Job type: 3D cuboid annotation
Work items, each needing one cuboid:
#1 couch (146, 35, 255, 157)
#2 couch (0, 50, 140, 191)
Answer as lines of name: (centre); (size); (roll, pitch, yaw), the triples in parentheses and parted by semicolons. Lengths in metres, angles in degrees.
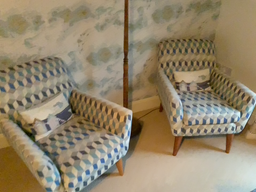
couch: (0.650, -0.060, 2.130); (0.730, 0.870, 0.900); (-2, 30, -6)
couch: (-0.530, 0.230, 1.640); (0.970, 0.830, 0.720); (24, 37, 35)
